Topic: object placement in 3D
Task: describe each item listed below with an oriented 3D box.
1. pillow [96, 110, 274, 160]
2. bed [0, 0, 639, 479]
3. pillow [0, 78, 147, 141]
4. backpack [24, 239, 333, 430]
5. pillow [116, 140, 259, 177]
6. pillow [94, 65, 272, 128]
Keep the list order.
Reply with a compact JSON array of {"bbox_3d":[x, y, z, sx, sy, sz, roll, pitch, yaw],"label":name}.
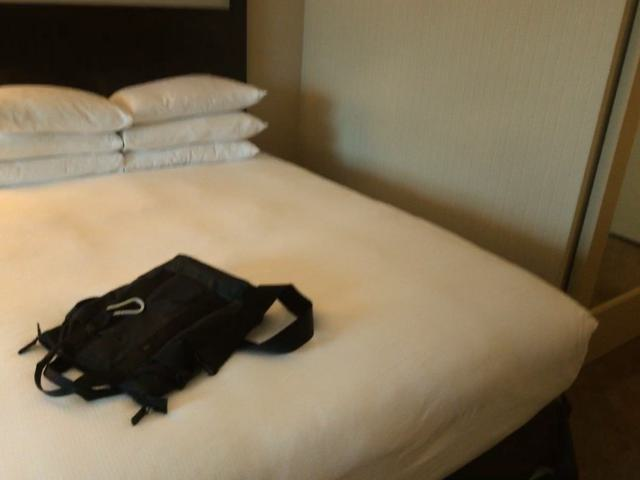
[{"bbox_3d":[-0.530,-0.440,2.370,0.700,0.150,0.160,-10,25,-37],"label":"pillow"},{"bbox_3d":[-0.480,-0.120,1.740,1.640,1.580,2.100,-10,25,-37],"label":"bed"},{"bbox_3d":[-1.030,-0.500,2.170,0.610,0.160,0.430,-10,25,-37],"label":"pillow"},{"bbox_3d":[-0.290,0.150,1.190,0.490,0.120,0.390,-10,25,-37],"label":"backpack"},{"bbox_3d":[-0.530,-0.340,2.370,0.560,0.090,0.140,-10,25,-37],"label":"pillow"},{"bbox_3d":[-0.580,-0.620,2.470,0.610,0.190,0.420,-10,25,-37],"label":"pillow"}]
